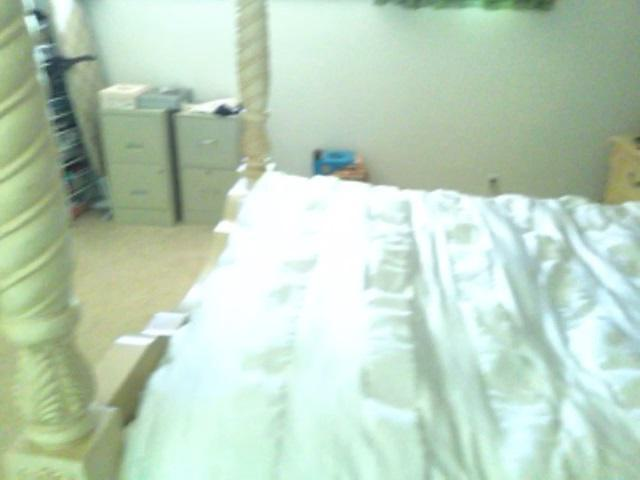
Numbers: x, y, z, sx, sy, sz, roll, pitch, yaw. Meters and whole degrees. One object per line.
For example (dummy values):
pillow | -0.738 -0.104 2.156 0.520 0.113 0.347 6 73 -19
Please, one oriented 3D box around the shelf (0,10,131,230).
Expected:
shelf | -1.960 -0.780 3.590 1.230 1.200 0.630 4 23 7
